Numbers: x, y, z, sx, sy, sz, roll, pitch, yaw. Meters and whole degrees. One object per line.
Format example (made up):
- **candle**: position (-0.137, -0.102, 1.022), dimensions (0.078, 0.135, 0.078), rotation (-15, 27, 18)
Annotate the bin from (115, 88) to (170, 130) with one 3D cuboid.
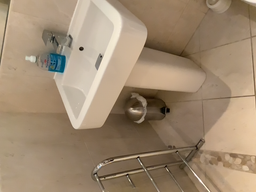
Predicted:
- **bin**: position (0.110, 0.100, 1.610), dimensions (0.190, 0.300, 0.230), rotation (52, 126, 40)
